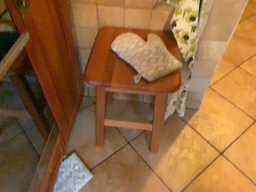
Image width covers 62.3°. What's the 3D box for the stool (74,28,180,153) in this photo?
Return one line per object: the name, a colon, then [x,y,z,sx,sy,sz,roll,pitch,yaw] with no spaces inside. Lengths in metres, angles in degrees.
stool: [0.000,0.000,0.890,0.320,0.440,0.270,6,50,2]
